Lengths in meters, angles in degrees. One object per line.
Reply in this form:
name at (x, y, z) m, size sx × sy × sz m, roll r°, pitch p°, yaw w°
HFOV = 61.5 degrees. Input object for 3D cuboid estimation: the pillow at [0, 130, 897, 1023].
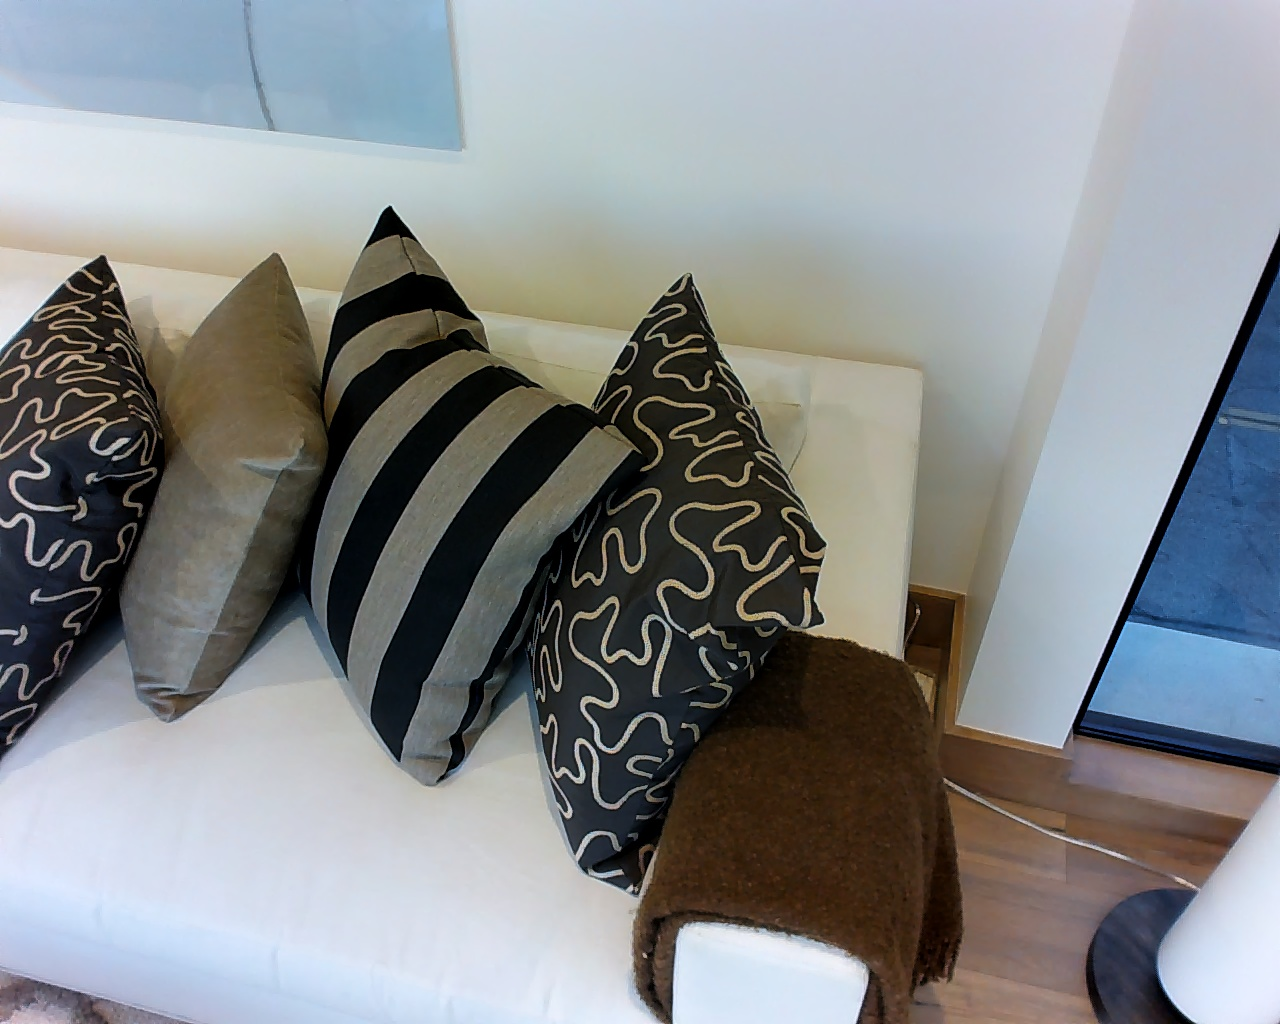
pillow at (-0.440, -0.020, 1.340) m, size 1.350 × 0.500 × 0.750 m, roll 11°, pitch 43°, yaw 12°
